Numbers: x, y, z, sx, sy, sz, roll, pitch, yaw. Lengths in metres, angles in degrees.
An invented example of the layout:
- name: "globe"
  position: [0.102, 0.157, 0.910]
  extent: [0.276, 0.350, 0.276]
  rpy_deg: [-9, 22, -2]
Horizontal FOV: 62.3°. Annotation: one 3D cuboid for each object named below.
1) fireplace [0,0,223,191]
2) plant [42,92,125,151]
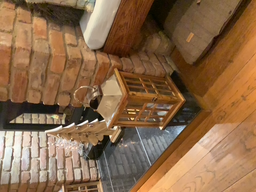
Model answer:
- name: "fireplace"
  position: [-0.680, 0.190, 1.590]
  extent: [1.790, 1.430, 1.150]
  rpy_deg: [-60, 38, 37]
- name: "plant"
  position: [-0.380, 0.220, 1.760]
  extent: [0.370, 0.560, 0.270]
  rpy_deg: [-63, 36, 32]
